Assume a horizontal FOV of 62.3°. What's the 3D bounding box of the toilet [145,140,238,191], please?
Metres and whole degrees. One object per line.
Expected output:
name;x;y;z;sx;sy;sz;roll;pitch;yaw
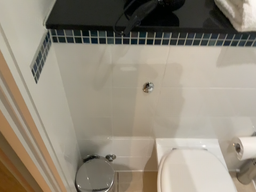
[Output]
toilet;0.310;0.580;1.120;0.360;0.450;0.520;1;47;-2
